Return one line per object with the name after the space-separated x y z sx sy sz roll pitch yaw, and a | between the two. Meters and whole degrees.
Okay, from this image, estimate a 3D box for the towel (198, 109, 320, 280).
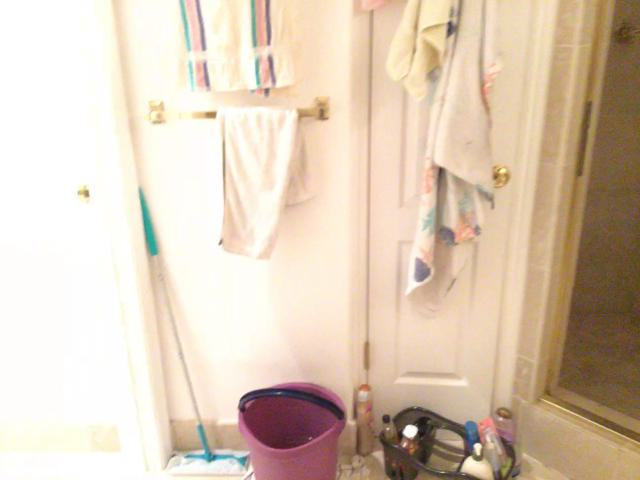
-0.150 -0.120 1.560 0.290 0.440 0.130 0 20 3 | towel

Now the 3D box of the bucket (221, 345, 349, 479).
-0.080 0.570 1.700 0.330 0.400 0.320 0 20 3 | bucket

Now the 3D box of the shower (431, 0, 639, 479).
1.140 -0.300 1.780 1.030 1.870 1.120 17 27 40 | shower

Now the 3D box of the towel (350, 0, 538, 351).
0.290 -0.300 1.510 0.420 1.220 0.210 0 20 3 | towel

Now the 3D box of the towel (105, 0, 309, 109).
-0.270 -0.510 1.440 0.470 0.340 0.120 0 20 3 | towel
